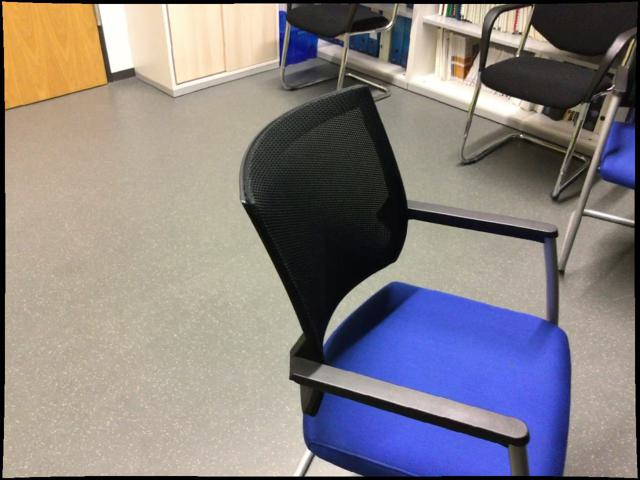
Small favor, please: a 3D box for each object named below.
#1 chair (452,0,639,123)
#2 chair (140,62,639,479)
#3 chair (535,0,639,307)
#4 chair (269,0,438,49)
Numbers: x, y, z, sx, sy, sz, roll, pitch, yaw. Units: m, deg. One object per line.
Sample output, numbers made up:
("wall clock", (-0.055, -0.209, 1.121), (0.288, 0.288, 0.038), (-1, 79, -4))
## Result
("chair", (1.049, -0.911, 2.450), (0.740, 0.490, 0.560), (-27, 44, -35))
("chair", (0.170, 0.210, 1.110), (0.649, 0.841, 0.590), (15, 37, 18))
("chair", (1.219, -0.320, 1.930), (0.620, 0.881, 0.710), (19, 38, 23))
("chair", (0.200, -1.421, 3.110), (0.780, 0.510, 0.540), (-27, 44, -35))
